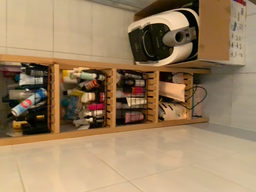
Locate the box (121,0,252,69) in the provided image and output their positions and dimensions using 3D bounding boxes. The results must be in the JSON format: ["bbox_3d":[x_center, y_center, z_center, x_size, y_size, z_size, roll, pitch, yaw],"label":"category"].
[{"bbox_3d":[0.350,-0.410,1.410,0.620,0.550,0.390,7,96,58],"label":"box"}]
